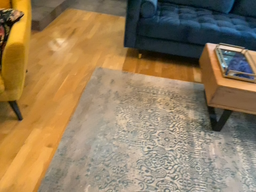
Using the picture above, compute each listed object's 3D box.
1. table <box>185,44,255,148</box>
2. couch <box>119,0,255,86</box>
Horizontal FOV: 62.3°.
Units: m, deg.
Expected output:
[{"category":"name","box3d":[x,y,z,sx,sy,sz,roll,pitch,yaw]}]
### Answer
[{"category":"table","box3d":[1.130,0.040,1.700,1.150,0.520,0.570,9,41,0]},{"category":"couch","box3d":[1.050,-0.860,2.410,2.090,0.900,1.050,10,41,1]}]
